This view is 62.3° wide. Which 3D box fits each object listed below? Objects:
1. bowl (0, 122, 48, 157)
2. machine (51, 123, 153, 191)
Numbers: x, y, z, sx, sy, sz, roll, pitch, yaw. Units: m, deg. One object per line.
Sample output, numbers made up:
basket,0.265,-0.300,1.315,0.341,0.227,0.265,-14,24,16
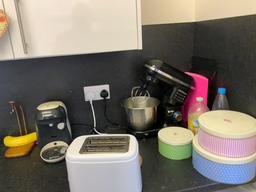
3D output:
bowl,-0.570,0.230,1.140,0.230,0.100,0.150,-6,17,-9
machine,-0.090,0.250,0.780,0.310,0.200,0.210,-6,17,-9
